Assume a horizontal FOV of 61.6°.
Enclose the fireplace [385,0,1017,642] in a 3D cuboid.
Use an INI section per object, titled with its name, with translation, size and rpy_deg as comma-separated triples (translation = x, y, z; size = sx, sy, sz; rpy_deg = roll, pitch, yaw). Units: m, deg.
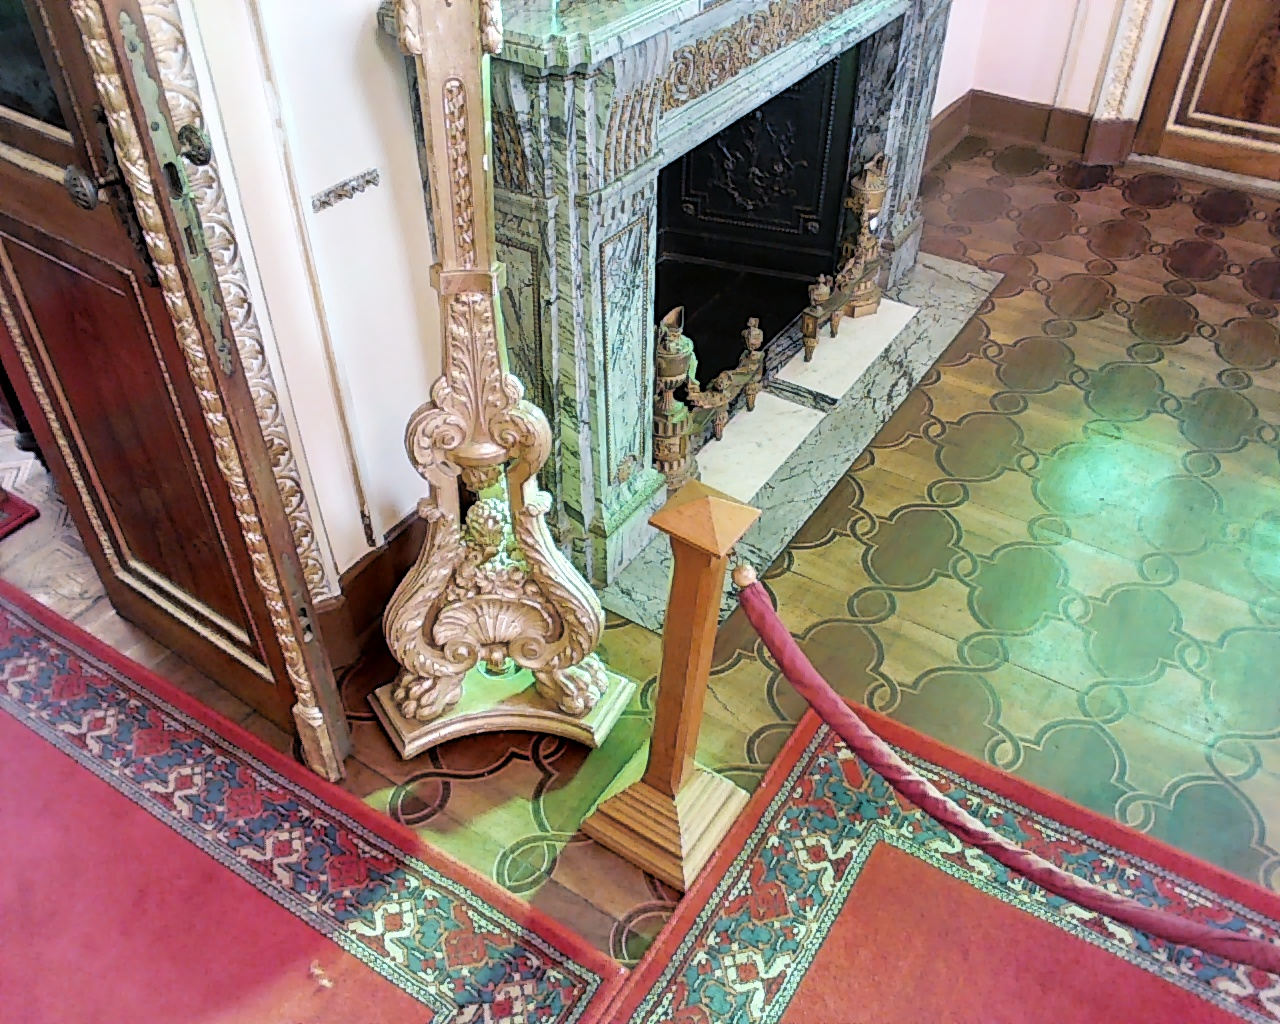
[fireplace]
translation = 0.350, -0.830, 2.710
size = 0.400, 1.230, 2.120
rpy_deg = 23, 46, 25
